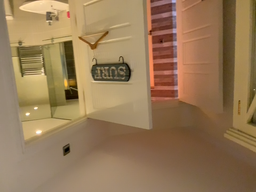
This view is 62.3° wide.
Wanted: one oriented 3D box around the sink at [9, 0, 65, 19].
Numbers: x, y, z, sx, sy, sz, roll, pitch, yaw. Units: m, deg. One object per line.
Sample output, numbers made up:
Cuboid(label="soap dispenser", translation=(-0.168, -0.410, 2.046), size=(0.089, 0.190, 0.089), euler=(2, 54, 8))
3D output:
Cuboid(label="sink", translation=(-1.130, -1.090, 2.640), size=(0.580, 0.120, 0.360), euler=(1, -169, 30))
